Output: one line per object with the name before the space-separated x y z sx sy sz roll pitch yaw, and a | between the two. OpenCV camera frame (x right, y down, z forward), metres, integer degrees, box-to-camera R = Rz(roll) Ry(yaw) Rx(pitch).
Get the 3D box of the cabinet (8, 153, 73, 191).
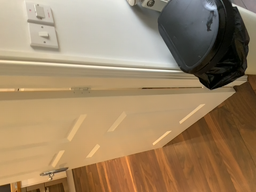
cabinet | -1.530 1.350 3.700 0.610 0.920 0.360 -45 57 46
